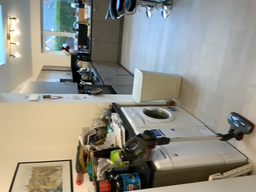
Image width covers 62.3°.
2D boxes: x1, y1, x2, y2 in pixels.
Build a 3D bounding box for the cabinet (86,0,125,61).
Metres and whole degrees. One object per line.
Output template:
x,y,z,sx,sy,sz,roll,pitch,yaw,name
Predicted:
-0.660,-1.870,5.870,0.600,0.890,1.630,-129,43,-64,cabinet
